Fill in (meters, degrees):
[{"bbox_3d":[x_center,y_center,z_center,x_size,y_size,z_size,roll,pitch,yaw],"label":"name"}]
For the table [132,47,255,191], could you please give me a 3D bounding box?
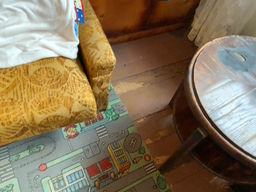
[{"bbox_3d":[0.530,0.210,1.070,0.750,0.590,0.580,-19,63,-20],"label":"table"}]
